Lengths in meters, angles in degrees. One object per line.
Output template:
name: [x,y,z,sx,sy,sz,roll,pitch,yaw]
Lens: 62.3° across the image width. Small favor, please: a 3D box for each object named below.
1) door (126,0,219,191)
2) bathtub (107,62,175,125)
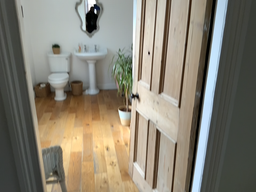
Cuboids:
door: [0.190,-0.110,1.400,0.110,1.900,0.800,-7,20,-21]
bathtub: [0.100,-0.160,3.740,0.770,0.600,1.670,-3,19,-11]
